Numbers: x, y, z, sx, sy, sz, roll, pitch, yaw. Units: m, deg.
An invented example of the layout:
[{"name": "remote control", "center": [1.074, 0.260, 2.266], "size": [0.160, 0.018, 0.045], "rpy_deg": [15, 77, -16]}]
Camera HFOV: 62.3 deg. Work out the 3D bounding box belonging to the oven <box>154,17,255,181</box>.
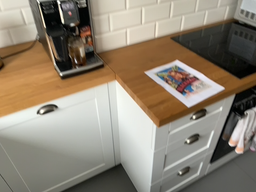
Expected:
[{"name": "oven", "center": [0.630, 0.010, 1.520], "size": [0.580, 0.870, 0.590], "rpy_deg": [-20, 44, -22]}]
